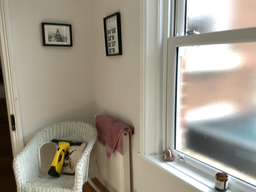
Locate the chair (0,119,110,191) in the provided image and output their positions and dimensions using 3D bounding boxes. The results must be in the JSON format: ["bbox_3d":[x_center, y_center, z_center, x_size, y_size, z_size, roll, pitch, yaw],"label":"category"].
[{"bbox_3d":[-0.550,0.650,1.840,0.620,0.720,0.630,1,11,11],"label":"chair"}]

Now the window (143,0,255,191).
[{"bbox_3d":[0.510,-0.270,1.000,0.280,1.790,1.090,-8,13,-32],"label":"window"}]
